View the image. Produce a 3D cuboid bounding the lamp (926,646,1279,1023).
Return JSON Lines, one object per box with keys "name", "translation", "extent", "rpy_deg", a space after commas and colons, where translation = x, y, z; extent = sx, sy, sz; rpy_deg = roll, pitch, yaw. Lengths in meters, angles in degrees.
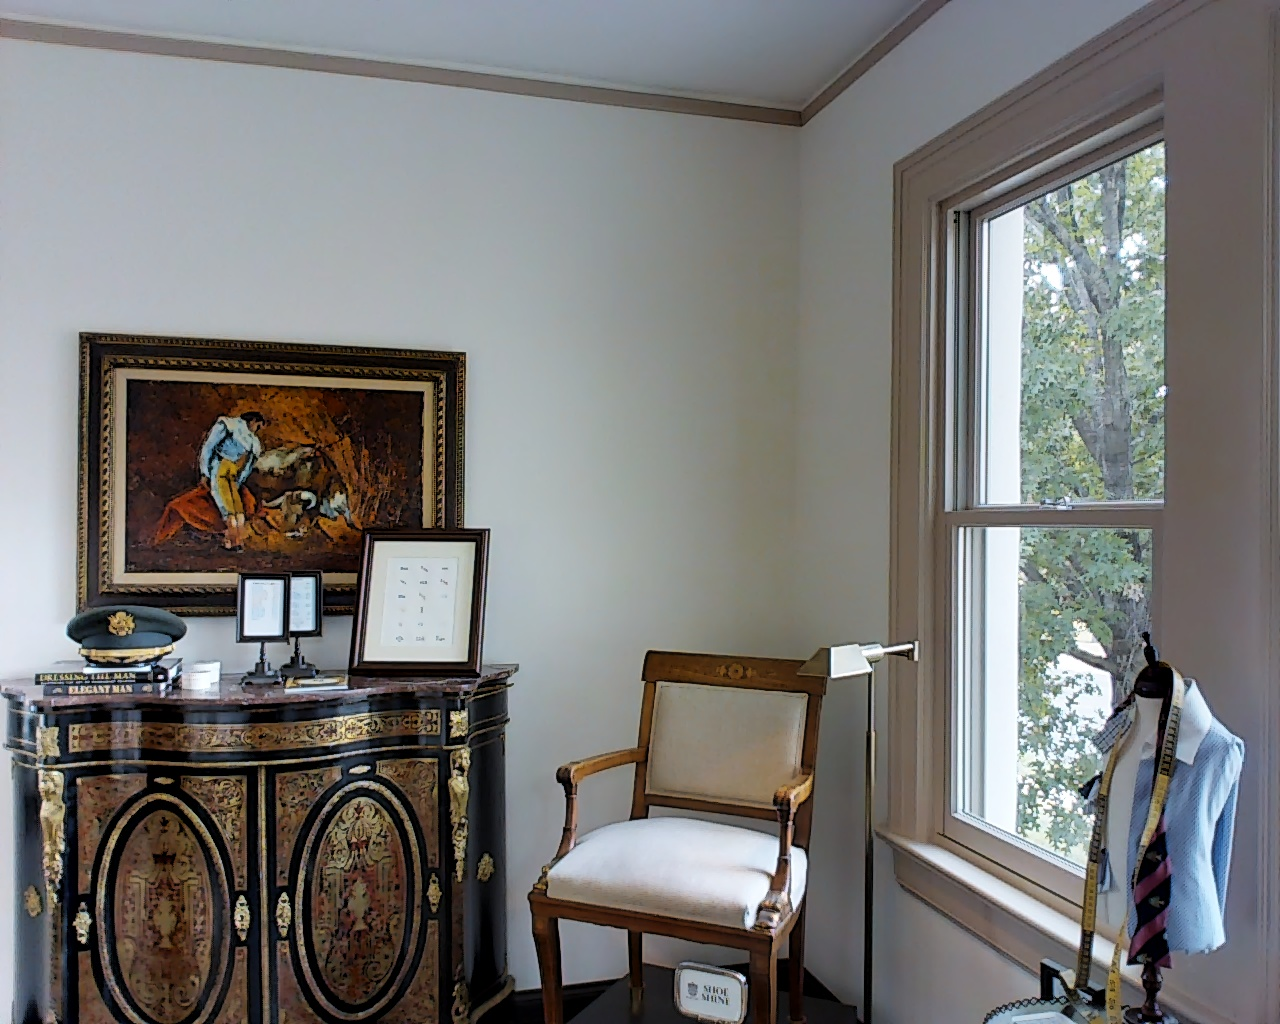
{"name": "lamp", "translation": [0.670, 0.610, 1.520], "extent": [0.380, 0.790, 0.360], "rpy_deg": [1, 0, -14]}
